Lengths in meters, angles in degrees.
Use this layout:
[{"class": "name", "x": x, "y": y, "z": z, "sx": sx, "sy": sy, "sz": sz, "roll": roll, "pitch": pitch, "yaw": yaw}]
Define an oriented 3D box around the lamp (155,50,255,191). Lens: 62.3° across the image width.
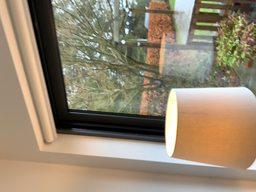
[{"class": "lamp", "x": 0.960, "y": 0.180, "z": 1.110, "sx": 0.550, "sy": 1.560, "sz": 0.540, "roll": -84, "pitch": -3, "yaw": -51}]
